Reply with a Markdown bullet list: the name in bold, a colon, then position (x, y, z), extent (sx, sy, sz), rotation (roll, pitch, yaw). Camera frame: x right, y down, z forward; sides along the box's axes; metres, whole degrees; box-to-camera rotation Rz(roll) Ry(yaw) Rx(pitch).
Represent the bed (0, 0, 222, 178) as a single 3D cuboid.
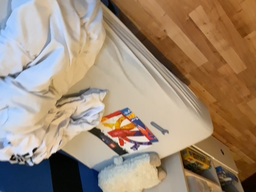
- **bed**: position (-0.470, -0.200, 0.820), extent (0.770, 0.370, 1.830), rotation (-34, 130, 30)
